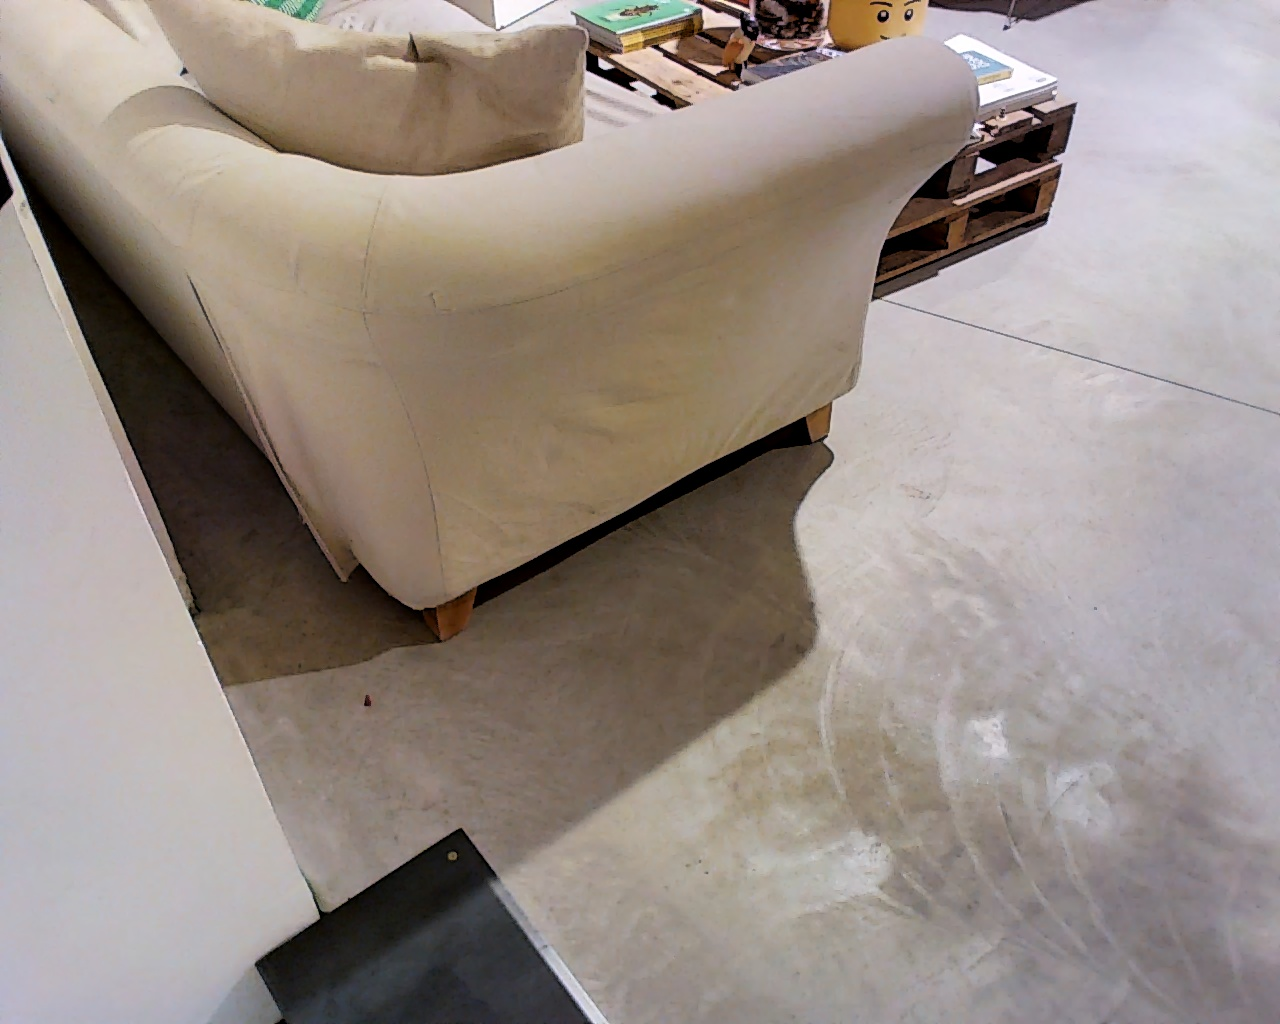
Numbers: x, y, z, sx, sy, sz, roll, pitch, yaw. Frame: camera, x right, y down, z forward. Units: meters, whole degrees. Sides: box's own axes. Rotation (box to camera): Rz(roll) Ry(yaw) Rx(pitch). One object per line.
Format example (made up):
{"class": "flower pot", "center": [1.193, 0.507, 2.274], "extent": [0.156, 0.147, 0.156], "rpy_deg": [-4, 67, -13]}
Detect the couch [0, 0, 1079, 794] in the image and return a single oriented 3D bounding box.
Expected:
{"class": "couch", "center": [-0.570, -0.770, 2.130], "extent": [1.220, 0.770, 2.270], "rpy_deg": [-28, 50, -26]}
